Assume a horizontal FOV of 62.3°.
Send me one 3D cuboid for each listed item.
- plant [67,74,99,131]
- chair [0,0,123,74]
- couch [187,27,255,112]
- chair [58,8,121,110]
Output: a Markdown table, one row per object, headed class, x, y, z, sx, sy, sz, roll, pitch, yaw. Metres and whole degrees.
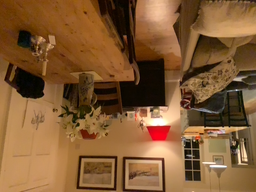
| class | x | y | z | sx | sy | sz | roll | pitch | yaw |
| --- | --- | --- | --- | --- | --- | --- | --- | --- | --- |
| plant | -0.400 | 0.070 | 1.940 | 0.200 | 0.490 | 0.200 | -1 | 167 | 8 |
| chair | -0.350 | -0.660 | 1.220 | 0.590 | 0.960 | 0.420 | -1 | 167 | 6 |
| couch | 1.550 | -0.280 | 3.050 | 0.820 | 0.840 | 1.020 | 11 | 163 | -38 |
| chair | -0.390 | -0.370 | 2.460 | 0.480 | 0.970 | 0.660 | -1 | 167 | 9 |
